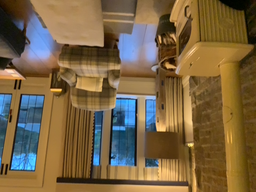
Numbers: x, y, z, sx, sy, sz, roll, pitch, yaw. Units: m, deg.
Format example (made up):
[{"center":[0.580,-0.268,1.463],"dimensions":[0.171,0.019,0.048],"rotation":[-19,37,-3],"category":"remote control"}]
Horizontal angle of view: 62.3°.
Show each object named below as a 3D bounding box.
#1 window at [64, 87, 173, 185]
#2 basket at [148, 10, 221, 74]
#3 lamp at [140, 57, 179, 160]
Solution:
[{"center":[-0.130,0.760,4.220],"dimensions":[2.030,1.830,0.060],"rotation":[3,166,-5],"category":"window"},{"center":[0.660,-0.640,2.690],"dimensions":[0.700,0.490,0.680],"rotation":[3,166,-3],"category":"basket"},{"center":[0.520,0.210,3.650],"dimensions":[0.590,1.680,0.500],"rotation":[1,166,5],"category":"lamp"}]
